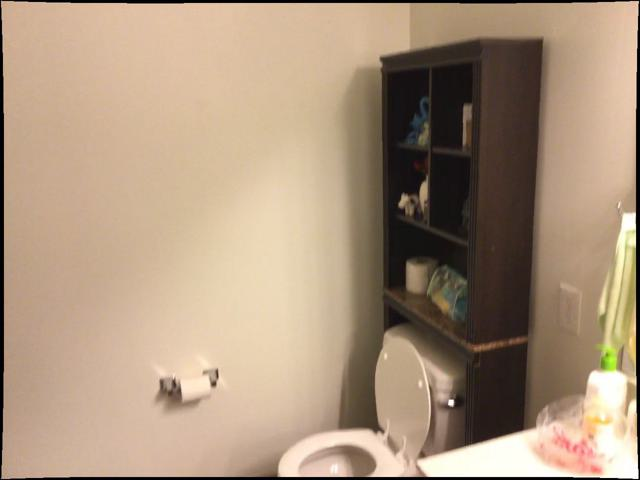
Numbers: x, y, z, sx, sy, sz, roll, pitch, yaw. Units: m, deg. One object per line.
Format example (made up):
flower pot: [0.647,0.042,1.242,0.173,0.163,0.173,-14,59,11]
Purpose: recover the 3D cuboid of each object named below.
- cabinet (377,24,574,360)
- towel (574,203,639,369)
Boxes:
cabinet: [0.429,-0.180,1.780,0.249,0.852,0.640,-9,17,-15]
towel: [0.678,0.100,1.320,0.080,0.341,0.150,-9,17,-15]
